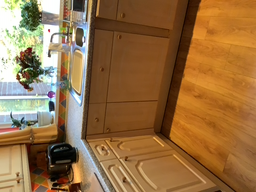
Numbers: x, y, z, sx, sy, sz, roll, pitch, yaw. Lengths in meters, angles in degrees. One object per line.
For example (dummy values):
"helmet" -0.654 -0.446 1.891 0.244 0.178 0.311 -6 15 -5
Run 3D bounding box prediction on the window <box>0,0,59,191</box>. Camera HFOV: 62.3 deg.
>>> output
"window" -1.230 -0.380 1.960 0.080 1.090 3.540 33 121 56

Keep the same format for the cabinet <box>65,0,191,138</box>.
"cabinet" -0.020 -0.660 1.980 0.600 0.900 1.920 35 122 56
